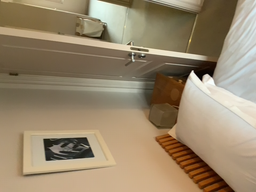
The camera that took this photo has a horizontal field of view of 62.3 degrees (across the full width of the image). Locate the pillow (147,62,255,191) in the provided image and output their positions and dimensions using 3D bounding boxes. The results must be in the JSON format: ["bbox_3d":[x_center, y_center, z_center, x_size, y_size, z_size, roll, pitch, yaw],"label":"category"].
[{"bbox_3d":[0.490,0.160,1.200,0.790,0.320,0.490,42,125,56],"label":"pillow"}]

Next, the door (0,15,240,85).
[{"bbox_3d":[-0.190,-0.280,1.850,0.990,2.180,0.110,-15,76,62],"label":"door"}]

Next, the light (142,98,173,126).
[{"bbox_3d":[0.240,0.130,1.760,0.170,0.160,0.160,45,127,55],"label":"light"}]
